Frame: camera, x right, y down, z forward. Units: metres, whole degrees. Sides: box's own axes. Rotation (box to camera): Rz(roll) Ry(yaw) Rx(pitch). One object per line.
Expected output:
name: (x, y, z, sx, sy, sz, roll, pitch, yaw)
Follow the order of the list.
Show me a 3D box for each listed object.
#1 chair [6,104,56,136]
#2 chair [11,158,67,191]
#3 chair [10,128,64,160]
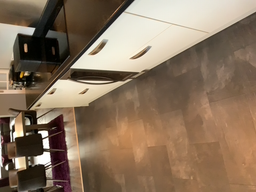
chair: (-2.150, 0.520, 4.710, 0.450, 0.900, 0.530, -30, 68, 51)
chair: (-1.760, 1.560, 4.210, 0.510, 0.910, 0.440, -25, 71, 52)
chair: (-1.850, 0.970, 4.320, 0.510, 0.890, 0.440, -25, 71, 52)
